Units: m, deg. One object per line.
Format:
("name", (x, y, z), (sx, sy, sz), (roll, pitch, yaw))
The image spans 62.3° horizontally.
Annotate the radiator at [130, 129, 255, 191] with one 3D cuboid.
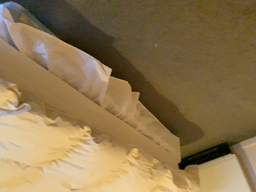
("radiator", (0.570, 0.900, 1.980), (1.150, 0.740, 0.230), (-31, 133, 25))
